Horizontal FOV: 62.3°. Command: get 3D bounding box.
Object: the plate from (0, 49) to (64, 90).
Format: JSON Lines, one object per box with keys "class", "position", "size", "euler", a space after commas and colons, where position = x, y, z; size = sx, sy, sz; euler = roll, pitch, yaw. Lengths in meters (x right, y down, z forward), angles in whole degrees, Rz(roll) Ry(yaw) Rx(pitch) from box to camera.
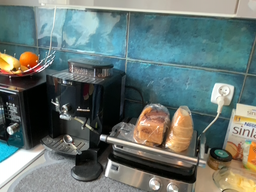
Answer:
{"class": "plate", "position": [-0.480, -0.140, 1.000], "size": [0.210, 0.110, 0.280], "euler": [11, 22, 17]}
